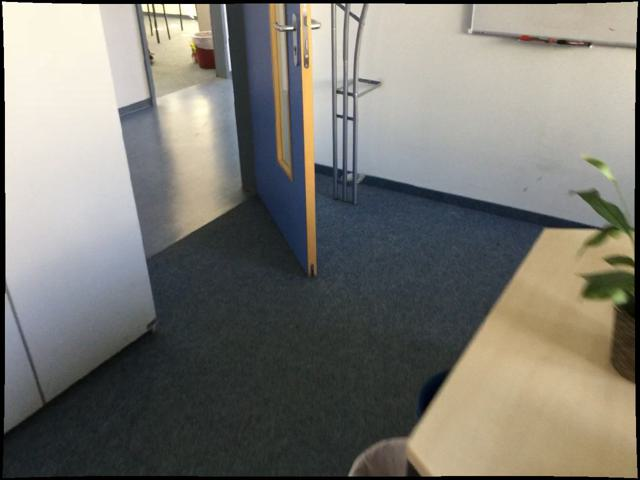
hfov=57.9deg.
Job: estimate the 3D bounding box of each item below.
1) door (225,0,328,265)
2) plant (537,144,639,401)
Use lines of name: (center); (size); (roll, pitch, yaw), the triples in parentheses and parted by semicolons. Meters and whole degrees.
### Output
door: (-0.230, -1.011, 2.440); (0.150, 2.071, 0.940); (-13, 34, -17)
plant: (0.529, 0.060, 0.950); (0.230, 0.350, 0.190); (17, 37, 27)
